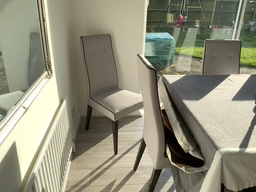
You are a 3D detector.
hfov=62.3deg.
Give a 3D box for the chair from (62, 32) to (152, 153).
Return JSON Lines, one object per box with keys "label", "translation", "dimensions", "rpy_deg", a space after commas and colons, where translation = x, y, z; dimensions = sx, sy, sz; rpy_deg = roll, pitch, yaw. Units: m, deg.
{"label": "chair", "translation": [-0.230, -0.090, 2.230], "dimensions": [0.740, 1.020, 0.480], "rpy_deg": [23, 31, 38]}
